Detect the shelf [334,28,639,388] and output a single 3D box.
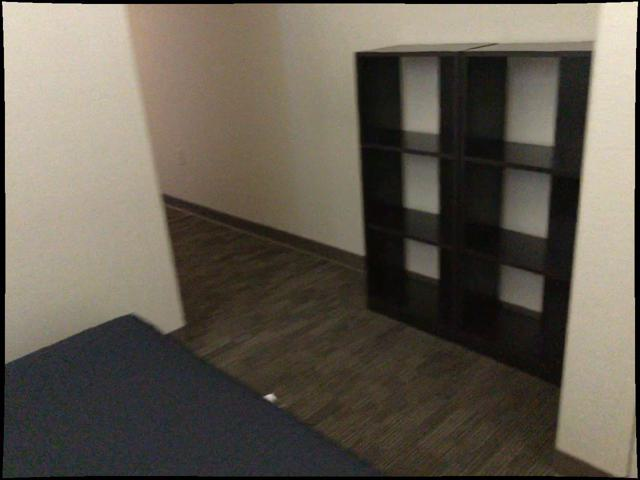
[{"bbox_3d":[0.639,-0.190,2.330,1.079,1.181,0.400,16,31,42],"label":"shelf"}]
